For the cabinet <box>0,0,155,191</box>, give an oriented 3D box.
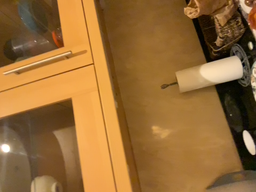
[{"bbox_3d":[-0.360,0.270,0.810,0.430,0.810,1.460,48,-152,-72],"label":"cabinet"}]
